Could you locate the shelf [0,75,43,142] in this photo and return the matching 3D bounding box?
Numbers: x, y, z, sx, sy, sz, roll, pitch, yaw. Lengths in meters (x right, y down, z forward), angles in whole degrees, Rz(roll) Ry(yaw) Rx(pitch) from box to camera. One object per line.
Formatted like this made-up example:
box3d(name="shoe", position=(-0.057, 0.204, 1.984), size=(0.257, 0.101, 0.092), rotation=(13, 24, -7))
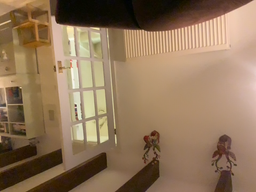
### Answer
box3d(name="shelf", position=(-2.170, 0.200, 3.690), size=(1.530, 1.010, 0.320), rotation=(-1, -175, 30))
